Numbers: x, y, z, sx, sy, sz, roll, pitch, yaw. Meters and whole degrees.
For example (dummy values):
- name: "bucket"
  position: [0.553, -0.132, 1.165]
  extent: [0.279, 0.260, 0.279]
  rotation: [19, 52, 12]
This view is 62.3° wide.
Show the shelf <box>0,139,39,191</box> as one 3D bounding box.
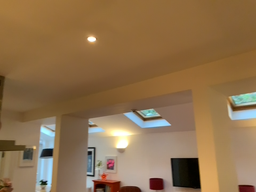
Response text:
- name: "shelf"
  position: [-3.090, 2.200, 5.540]
  extent: [2.140, 1.980, 0.300]
  rotation: [-13, -18, 39]
